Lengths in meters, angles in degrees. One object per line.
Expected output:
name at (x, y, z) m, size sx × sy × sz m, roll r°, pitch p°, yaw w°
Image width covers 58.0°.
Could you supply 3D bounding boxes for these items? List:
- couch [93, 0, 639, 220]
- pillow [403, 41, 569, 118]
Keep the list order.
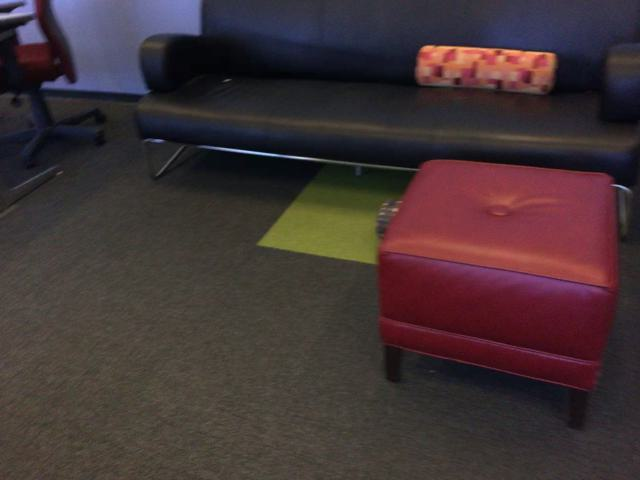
couch at (0.230, -0.740, 2.360) m, size 1.990 × 0.660 × 0.890 m, roll 11°, pitch 34°, yaw 21°
pillow at (0.660, -0.660, 2.340) m, size 0.600 × 0.210 × 0.200 m, roll 11°, pitch 34°, yaw 21°
